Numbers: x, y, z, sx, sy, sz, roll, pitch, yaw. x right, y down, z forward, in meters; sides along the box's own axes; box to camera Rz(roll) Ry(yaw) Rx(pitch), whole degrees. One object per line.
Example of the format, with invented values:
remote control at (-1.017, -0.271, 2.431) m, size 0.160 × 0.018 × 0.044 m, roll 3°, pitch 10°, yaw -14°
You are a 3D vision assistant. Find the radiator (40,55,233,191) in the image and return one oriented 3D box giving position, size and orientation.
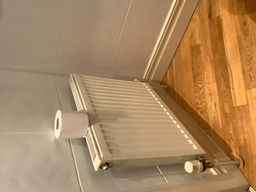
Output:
radiator at (-0.020, 0.070, 1.020) m, size 0.760 × 0.680 × 0.120 m, roll 56°, pitch 133°, yaw 47°
